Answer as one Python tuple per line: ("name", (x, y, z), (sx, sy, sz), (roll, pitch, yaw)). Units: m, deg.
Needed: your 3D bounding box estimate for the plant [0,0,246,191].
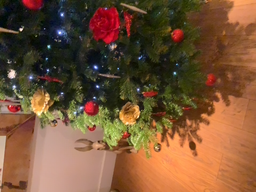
("plant", (-0.590, -0.420, 0.970), (0.990, 2.340, 1.530), (10, 94, 55))
